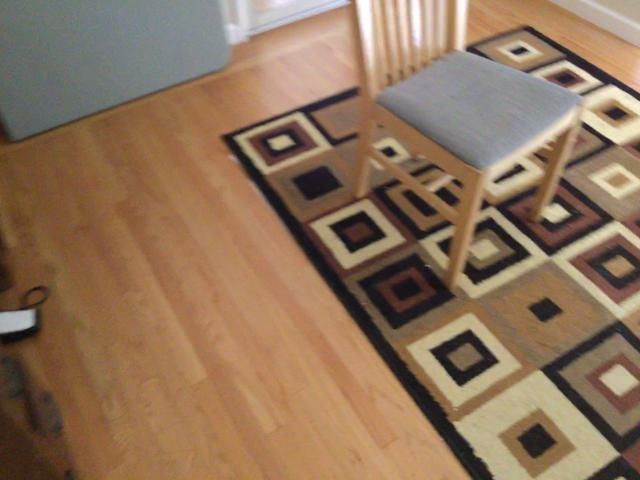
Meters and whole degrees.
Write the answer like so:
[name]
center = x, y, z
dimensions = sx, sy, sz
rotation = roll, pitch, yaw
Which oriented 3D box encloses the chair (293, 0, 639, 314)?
[chair]
center = 0.340, -0.410, 1.510
dimensions = 0.500, 0.940, 0.630
rotation = -33, 53, -21
